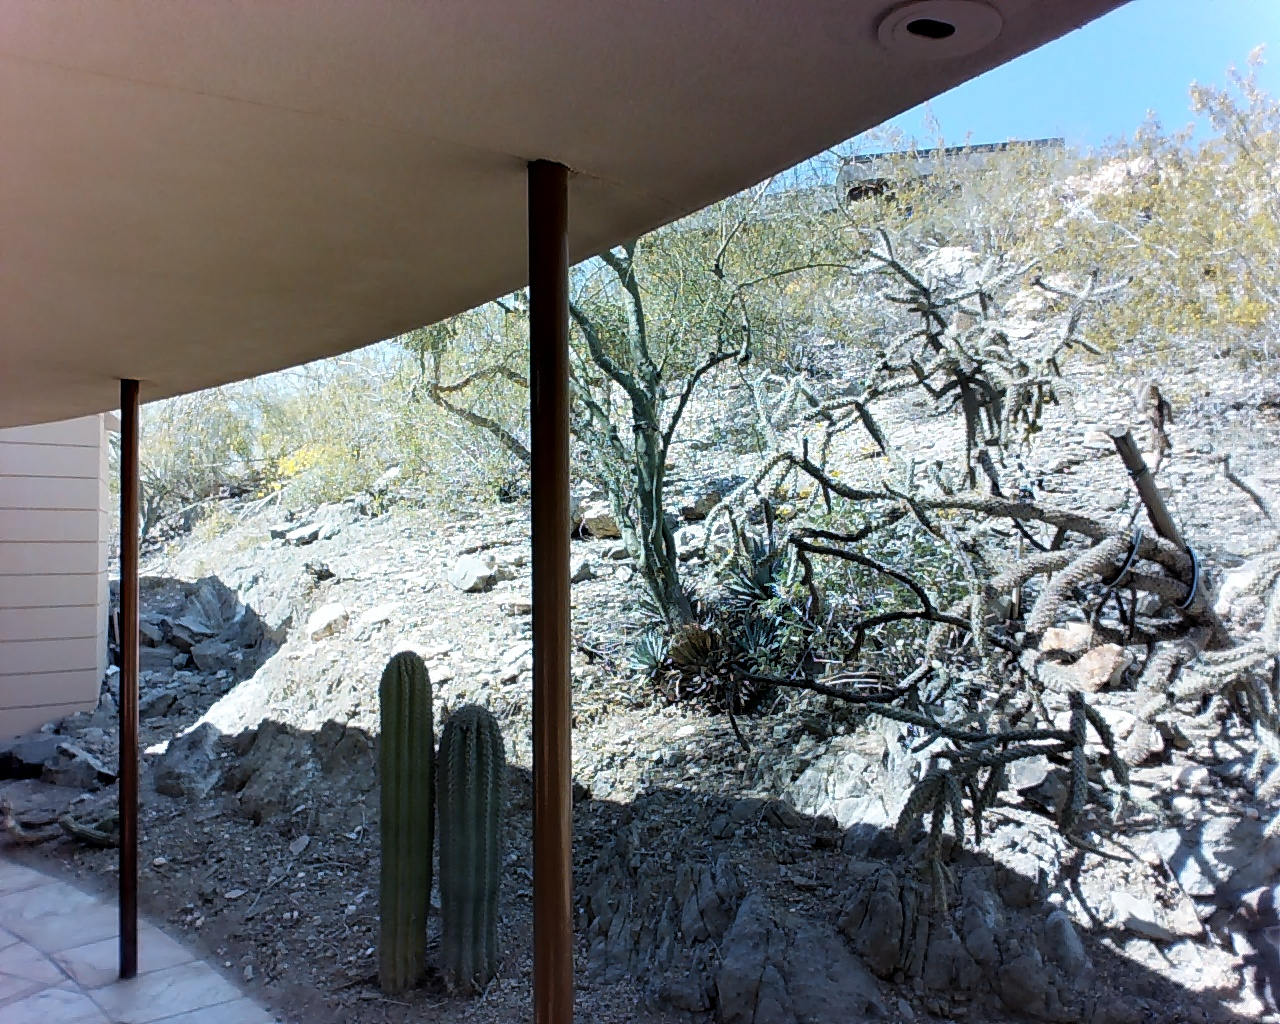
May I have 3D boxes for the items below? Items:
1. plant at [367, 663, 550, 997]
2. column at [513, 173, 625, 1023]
[{"bbox_3d":[-0.590,1.000,3.500,0.490,0.950,0.320,-1,-1,25],"label":"plant"},{"bbox_3d":[-0.110,0.440,1.660,0.140,1.890,0.100,-1,-1,37],"label":"column"}]
